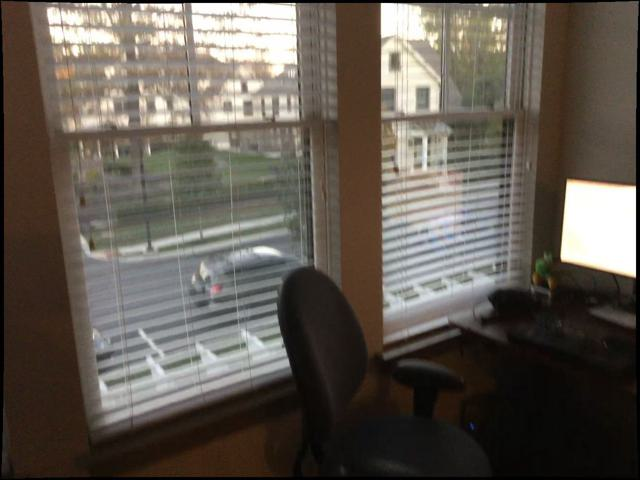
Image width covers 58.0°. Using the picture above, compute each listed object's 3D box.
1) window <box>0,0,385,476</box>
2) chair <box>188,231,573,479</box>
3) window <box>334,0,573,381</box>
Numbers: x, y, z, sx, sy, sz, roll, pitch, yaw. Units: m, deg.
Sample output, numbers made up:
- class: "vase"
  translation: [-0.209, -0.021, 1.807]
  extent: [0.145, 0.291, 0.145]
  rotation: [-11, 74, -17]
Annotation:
- class: "window"
  translation: [-0.349, -0.351, 1.670]
  extent: [1.068, 1.774, 0.300]
  rotation: [-13, 19, -28]
- class: "chair"
  translation: [0.200, 0.621, 1.650]
  extent: [0.719, 1.062, 0.719]
  rotation: [10, 22, 38]
- class: "window"
  translation: [0.549, -0.471, 2.230]
  extent: [1.028, 1.864, 0.150]
  rotation: [-13, 19, -28]
